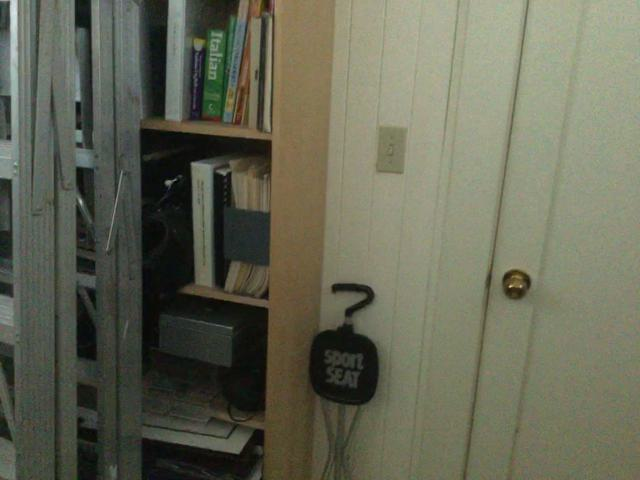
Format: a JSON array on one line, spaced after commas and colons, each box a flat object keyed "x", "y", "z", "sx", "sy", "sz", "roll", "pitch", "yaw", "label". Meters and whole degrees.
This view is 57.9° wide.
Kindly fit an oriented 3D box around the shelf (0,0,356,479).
[{"x": -0.430, "y": -0.250, "z": 1.360, "sx": 0.890, "sy": 2.330, "sz": 0.450, "roll": 9, "pitch": 18, "yaw": 17, "label": "shelf"}]

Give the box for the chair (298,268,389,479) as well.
[{"x": 0.050, "y": 0.510, "z": 1.590, "sx": 0.180, "sy": 0.860, "sz": 0.100, "roll": 9, "pitch": 18, "yaw": 17, "label": "chair"}]
